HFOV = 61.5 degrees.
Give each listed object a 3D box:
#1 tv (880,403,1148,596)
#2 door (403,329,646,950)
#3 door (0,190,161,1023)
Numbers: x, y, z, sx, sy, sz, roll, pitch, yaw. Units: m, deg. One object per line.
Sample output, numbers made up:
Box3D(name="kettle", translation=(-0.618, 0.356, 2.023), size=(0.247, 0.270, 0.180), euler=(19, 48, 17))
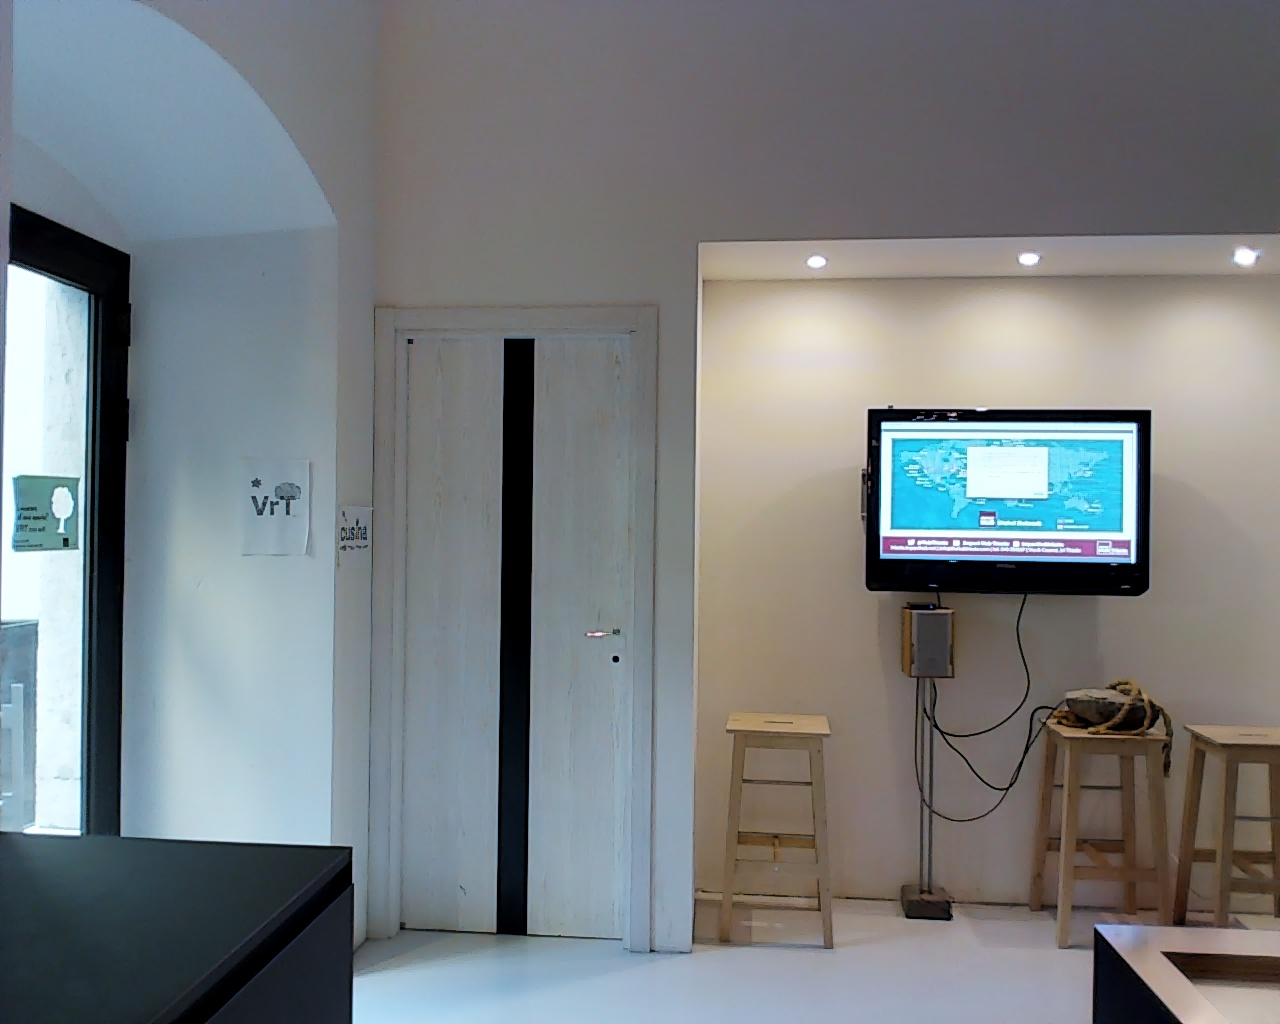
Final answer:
Box3D(name="tv", translation=(1.410, -0.050, 4.100), size=(0.950, 0.710, 0.170), euler=(0, 0, 5))
Box3D(name="door", translation=(-0.400, 0.430, 3.770), size=(0.820, 2.121, 0.120), euler=(0, 0, 5))
Box3D(name="door", translation=(-1.610, 0.320, 2.720), size=(0.100, 2.211, 1.250), euler=(0, 0, 6))
